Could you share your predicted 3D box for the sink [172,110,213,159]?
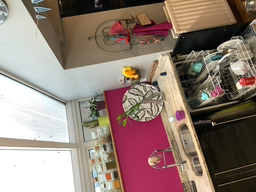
[{"bbox_3d":[0.680,0.440,2.330,0.490,0.170,0.430,97,161,-71],"label":"sink"}]
